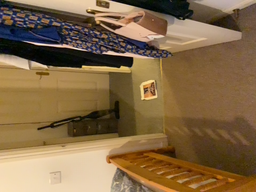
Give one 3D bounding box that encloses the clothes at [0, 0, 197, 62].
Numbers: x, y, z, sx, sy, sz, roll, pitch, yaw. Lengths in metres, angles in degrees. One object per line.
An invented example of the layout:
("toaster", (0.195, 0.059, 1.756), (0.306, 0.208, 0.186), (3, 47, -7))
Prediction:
("clothes", (-0.300, -0.300, 0.980), (0.440, 1.260, 0.130), (2, 92, 61))
